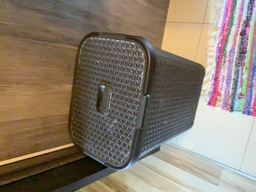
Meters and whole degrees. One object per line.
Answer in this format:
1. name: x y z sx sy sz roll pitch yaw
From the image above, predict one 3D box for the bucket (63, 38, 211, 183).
1. bucket: 0.070 0.020 0.930 0.310 0.550 0.410 20 104 35
